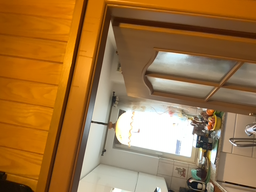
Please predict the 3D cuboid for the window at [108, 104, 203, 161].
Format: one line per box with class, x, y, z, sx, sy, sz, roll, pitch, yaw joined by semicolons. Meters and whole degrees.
window;0.500;0.660;3.970;0.230;1.600;0.750;47;-127;-83
